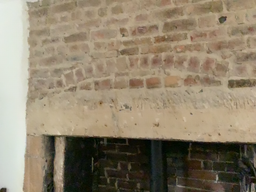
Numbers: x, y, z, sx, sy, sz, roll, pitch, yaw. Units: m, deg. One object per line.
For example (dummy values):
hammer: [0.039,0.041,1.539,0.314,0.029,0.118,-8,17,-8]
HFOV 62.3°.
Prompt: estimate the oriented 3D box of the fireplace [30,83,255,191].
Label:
fireplace: [0.160,0.810,1.770,1.790,1.710,0.700,-1,-4,19]
